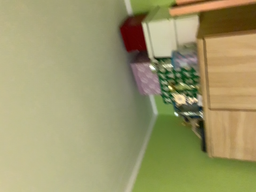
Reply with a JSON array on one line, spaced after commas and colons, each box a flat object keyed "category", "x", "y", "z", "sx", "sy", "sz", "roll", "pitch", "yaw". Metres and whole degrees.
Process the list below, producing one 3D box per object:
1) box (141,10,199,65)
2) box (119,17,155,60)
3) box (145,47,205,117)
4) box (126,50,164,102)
[{"category": "box", "x": 0.230, "y": -0.300, "z": 1.120, "sx": 0.130, "sy": 0.250, "sz": 0.220, "roll": -65, "pitch": -35, "yaw": -41}, {"category": "box", "x": 0.060, "y": -0.340, "z": 1.260, "sx": 0.140, "sy": 0.140, "sz": 0.190, "roll": -61, "pitch": -38, "yaw": -46}, {"category": "box", "x": 0.290, "y": -0.080, "z": 1.230, "sx": 0.290, "sy": 0.260, "sz": 0.270, "roll": -63, "pitch": -36, "yaw": -44}, {"category": "box", "x": 0.120, "y": -0.120, "z": 1.370, "sx": 0.130, "sy": 0.150, "sz": 0.310, "roll": -64, "pitch": -36, "yaw": -43}]
